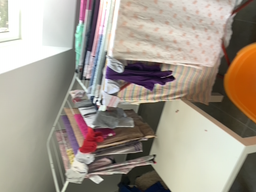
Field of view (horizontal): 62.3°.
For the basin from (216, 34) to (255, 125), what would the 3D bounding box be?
[{"bbox_3d":[0.780,-0.030,1.090,0.520,0.180,0.370,57,137,45],"label":"basin"}]
